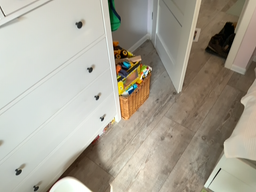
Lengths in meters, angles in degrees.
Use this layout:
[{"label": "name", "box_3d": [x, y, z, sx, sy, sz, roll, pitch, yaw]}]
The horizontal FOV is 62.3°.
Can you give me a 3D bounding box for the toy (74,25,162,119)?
[{"label": "toy", "box_3d": [-0.070, -0.210, 1.810, 0.550, 0.510, 0.390, 28, 56, 24]}]
